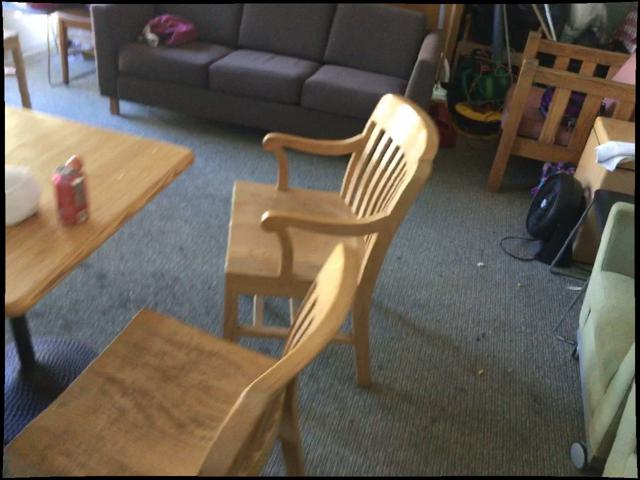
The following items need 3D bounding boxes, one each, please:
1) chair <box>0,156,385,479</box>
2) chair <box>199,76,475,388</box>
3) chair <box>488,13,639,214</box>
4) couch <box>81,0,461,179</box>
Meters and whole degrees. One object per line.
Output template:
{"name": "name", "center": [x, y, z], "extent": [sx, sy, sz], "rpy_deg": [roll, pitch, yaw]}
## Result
{"name": "chair", "center": [-0.280, 0.380, 1.270], "extent": [0.619, 0.801, 0.700], "rpy_deg": [13, 36, 11]}
{"name": "chair", "center": [-0.010, -0.040, 1.900], "extent": [0.689, 0.781, 0.630], "rpy_deg": [-1, 35, -8]}
{"name": "chair", "center": [1.419, -0.721, 3.150], "extent": [0.789, 0.710, 0.820], "rpy_deg": [13, 36, 11]}
{"name": "couch", "center": [-0.250, -1.071, 3.430], "extent": [1.928, 0.730, 0.900], "rpy_deg": [13, 36, 11]}
